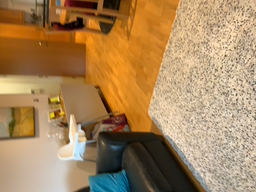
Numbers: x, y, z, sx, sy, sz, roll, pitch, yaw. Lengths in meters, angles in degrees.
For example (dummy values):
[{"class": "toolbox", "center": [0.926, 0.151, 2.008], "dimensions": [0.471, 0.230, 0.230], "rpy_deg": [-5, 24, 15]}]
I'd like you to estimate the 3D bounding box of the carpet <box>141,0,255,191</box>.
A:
[{"class": "carpet", "center": [0.770, 0.010, 1.090], "dimensions": [2.410, 0.040, 1.790], "rpy_deg": [-126, 41, -52]}]
